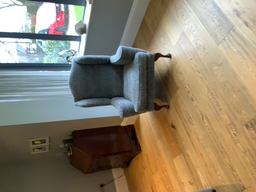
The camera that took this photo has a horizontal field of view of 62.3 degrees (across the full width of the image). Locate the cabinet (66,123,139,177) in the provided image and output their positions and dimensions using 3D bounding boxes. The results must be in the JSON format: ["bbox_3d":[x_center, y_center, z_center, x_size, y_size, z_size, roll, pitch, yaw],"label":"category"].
[{"bbox_3d":[-0.470,0.910,3.620,0.770,1.020,0.510,118,143,-49],"label":"cabinet"}]

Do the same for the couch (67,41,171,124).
[{"bbox_3d":[-0.170,-0.210,2.730,0.880,1.060,0.830,-159,69,-65],"label":"couch"}]
